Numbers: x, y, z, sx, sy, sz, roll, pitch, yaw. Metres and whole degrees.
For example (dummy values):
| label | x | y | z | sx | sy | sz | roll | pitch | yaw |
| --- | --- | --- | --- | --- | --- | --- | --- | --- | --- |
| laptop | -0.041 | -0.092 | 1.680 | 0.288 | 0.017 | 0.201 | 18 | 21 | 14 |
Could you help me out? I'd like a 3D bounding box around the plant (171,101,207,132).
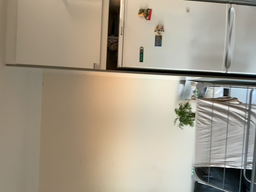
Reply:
| label | x | y | z | sx | sy | sz | roll | pitch | yaw |
| --- | --- | --- | --- | --- | --- | --- | --- | --- | --- |
| plant | 0.600 | 0.200 | 2.120 | 0.210 | 0.270 | 0.260 | -140 | 53 | -84 |
